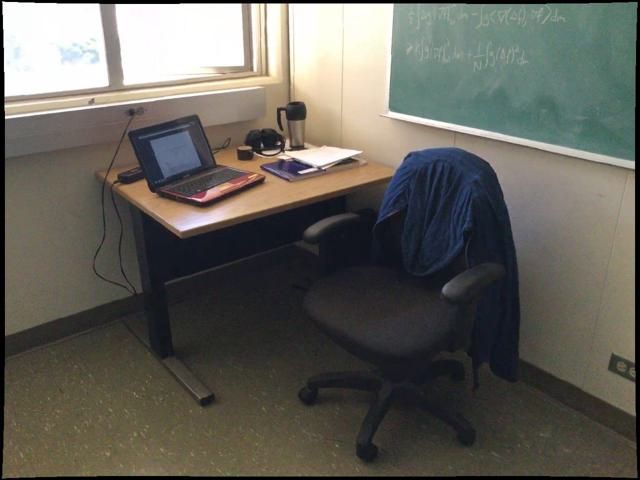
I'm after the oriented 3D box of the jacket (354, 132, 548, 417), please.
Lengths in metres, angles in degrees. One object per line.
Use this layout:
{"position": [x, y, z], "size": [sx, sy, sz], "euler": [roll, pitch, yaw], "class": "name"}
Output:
{"position": [0.399, 0.090, 1.960], "size": [0.250, 0.792, 0.550], "euler": [-20, 30, -36], "class": "jacket"}
